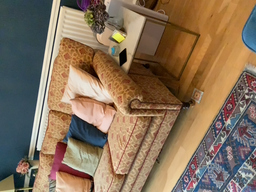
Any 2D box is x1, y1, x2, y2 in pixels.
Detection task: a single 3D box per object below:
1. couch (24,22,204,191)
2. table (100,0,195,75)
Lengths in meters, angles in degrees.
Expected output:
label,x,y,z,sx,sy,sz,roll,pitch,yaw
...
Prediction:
label,x,y,z,sx,sy,sz,roll,pitch,yaw
couch,-0.410,0.610,2.160,1.070,0.890,2.240,51,128,49
table,0.140,-0.480,1.740,0.400,0.540,0.420,49,126,50
